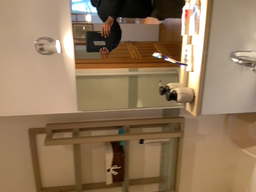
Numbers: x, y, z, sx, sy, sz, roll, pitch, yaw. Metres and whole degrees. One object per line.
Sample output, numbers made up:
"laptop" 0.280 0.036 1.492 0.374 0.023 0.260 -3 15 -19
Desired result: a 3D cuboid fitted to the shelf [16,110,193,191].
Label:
"shelf" -0.120 0.480 1.430 0.160 1.040 0.710 -121 30 -70
